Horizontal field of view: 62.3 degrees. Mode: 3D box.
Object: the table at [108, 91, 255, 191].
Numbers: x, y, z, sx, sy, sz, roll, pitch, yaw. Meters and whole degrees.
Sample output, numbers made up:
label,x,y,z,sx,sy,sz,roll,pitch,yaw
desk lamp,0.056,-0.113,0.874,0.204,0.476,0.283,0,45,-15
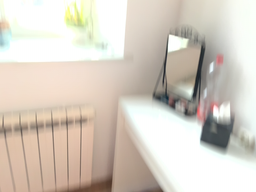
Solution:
label,x,y,z,sx,sy,sz,roll,pitch,yaw
table,0.300,0.570,1.110,0.440,0.720,1.320,-4,25,-20
